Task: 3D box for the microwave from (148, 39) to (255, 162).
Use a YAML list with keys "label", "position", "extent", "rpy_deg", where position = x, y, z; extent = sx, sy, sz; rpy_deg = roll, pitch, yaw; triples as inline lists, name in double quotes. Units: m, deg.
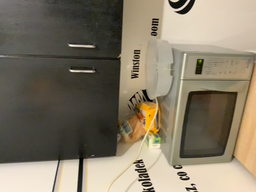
- label: "microwave"
  position: [0.300, 0.000, 0.980]
  extent: [0.340, 0.290, 0.460]
  rpy_deg: [-115, 27, -67]
